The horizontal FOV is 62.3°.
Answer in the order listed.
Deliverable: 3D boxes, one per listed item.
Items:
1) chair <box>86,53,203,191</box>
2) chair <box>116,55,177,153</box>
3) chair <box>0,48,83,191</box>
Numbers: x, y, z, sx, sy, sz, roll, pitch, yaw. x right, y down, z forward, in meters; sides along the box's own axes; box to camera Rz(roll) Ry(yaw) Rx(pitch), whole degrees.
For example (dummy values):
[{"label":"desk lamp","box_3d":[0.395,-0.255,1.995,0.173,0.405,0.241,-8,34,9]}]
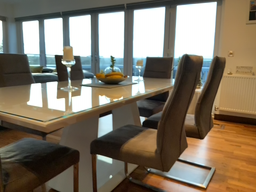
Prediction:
[{"label":"chair","box_3d":[0.110,0.240,1.400,0.590,1.010,0.470,6,11,27]},{"label":"chair","box_3d":[0.230,0.040,2.570,0.440,1.030,0.650,8,12,34]},{"label":"chair","box_3d":[-0.610,0.280,1.070,0.470,1.000,0.610,6,11,25]}]
